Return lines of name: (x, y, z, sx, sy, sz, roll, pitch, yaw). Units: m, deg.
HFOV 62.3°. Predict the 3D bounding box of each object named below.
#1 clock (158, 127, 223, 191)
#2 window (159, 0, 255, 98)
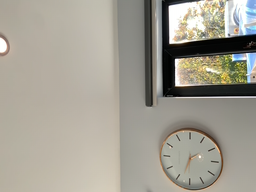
clock: (0.450, 0.460, 1.570, 0.030, 0.460, 0.440, -5, -85, -69)
window: (0.940, -0.410, 1.660, 0.130, 1.370, 0.840, -10, -81, -68)
